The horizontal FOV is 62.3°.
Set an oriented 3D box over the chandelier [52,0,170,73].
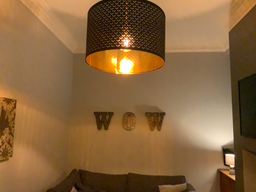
[{"bbox_3d":[-0.050,-0.780,1.720,0.730,1.030,0.740,0,174,13],"label":"chandelier"}]
